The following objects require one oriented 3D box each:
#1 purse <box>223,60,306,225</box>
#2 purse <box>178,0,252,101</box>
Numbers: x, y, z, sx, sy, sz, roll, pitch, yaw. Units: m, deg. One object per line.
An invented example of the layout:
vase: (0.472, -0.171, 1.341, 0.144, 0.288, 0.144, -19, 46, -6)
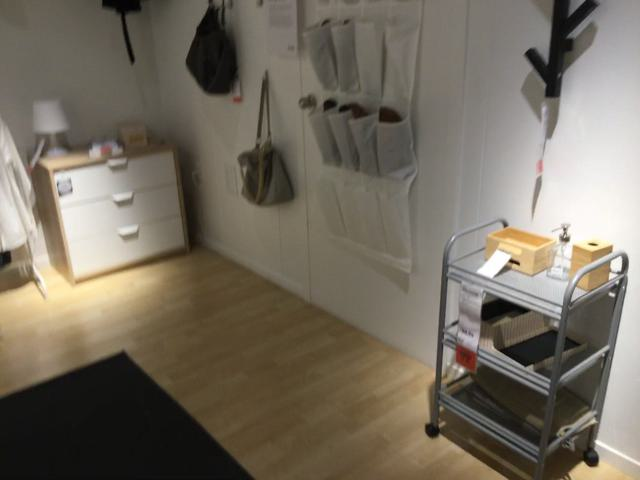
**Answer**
purse: (-0.260, -0.470, 2.730, 0.170, 0.710, 0.380, -17, 26, -41)
purse: (-0.510, -1.080, 2.760, 0.190, 0.780, 0.310, -17, 26, -41)
